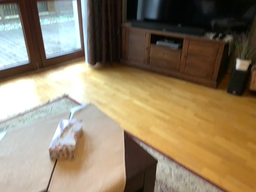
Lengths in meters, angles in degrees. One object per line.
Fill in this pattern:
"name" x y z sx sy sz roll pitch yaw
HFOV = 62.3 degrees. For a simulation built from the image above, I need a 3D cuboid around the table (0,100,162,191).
"table" -0.320 0.460 1.150 0.670 0.460 0.680 -19 35 -32
